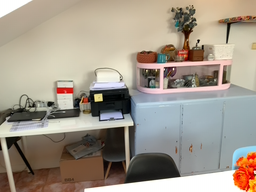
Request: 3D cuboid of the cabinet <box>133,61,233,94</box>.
[{"bbox_3d":[0.580,-0.220,2.370,1.020,0.280,0.320,-2,16,-4],"label":"cabinet"}]
